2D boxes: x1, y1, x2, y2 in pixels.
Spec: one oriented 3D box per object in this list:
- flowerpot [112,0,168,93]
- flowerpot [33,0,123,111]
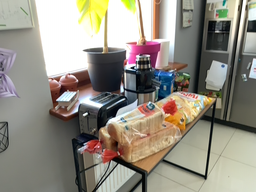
[{"bbox_3d":[0.100,-0.570,1.720,0.290,1.000,0.340,18,28,40],"label":"flowerpot"},{"bbox_3d":[-0.330,-0.450,1.550,0.350,0.950,0.480,14,26,34],"label":"flowerpot"}]
